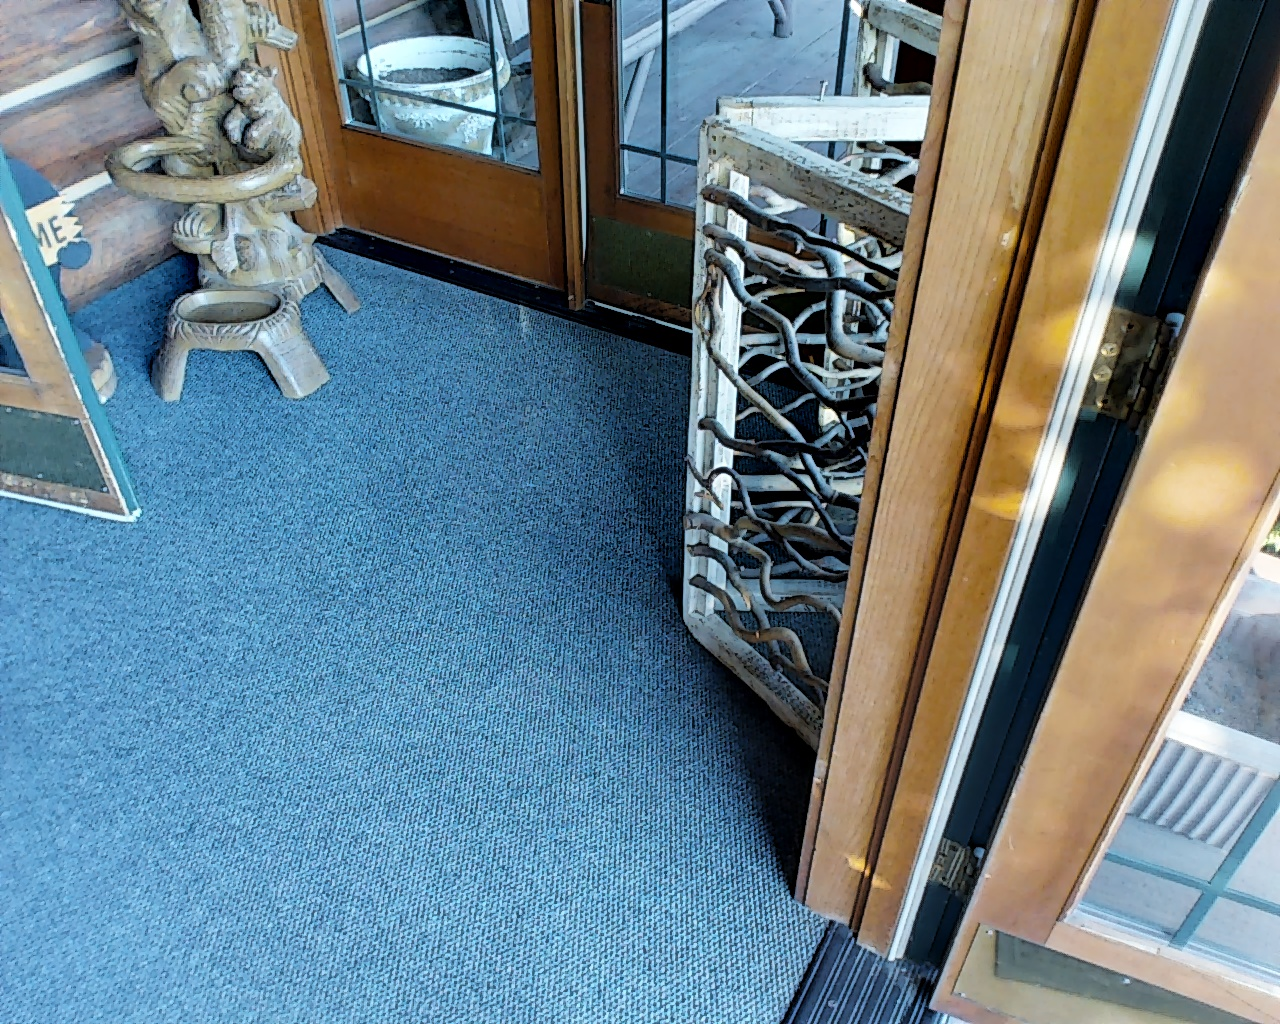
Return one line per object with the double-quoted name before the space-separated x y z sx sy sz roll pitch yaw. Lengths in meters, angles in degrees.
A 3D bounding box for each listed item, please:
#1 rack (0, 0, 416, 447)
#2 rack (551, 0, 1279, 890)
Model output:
"rack" -1.020 -1.170 2.220 0.590 2.000 0.590 21 46 22
"rack" 0.470 -0.240 1.820 0.690 1.100 1.090 21 46 22
